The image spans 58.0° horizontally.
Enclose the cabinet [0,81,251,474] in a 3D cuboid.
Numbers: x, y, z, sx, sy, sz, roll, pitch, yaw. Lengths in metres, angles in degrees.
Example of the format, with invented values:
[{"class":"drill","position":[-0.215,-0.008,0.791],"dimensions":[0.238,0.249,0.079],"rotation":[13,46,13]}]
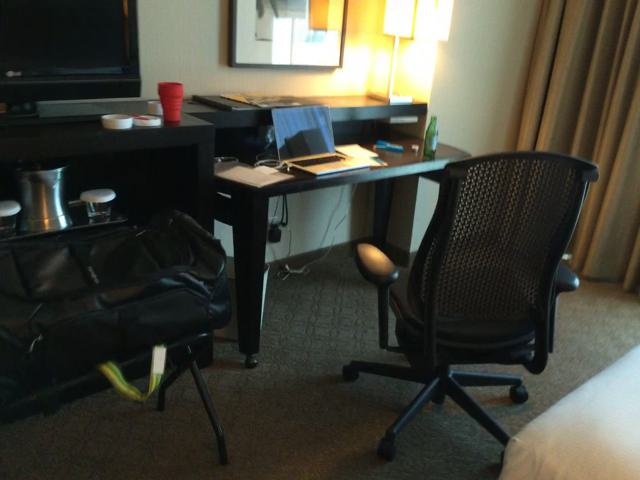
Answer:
[{"class":"cabinet","position":[-0.920,0.060,1.870],"dimensions":[1.220,1.030,0.620],"rotation":[-14,28,-40]}]

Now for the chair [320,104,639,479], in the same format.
[{"class":"chair","position":[0.480,0.140,1.930],"dimensions":[0.710,1.030,0.750],"rotation":[-2,22,-16]}]

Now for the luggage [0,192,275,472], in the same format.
[{"class":"luggage","position":[-0.590,0.170,1.540],"dimensions":[0.760,0.380,0.520],"rotation":[-14,28,-40]}]
